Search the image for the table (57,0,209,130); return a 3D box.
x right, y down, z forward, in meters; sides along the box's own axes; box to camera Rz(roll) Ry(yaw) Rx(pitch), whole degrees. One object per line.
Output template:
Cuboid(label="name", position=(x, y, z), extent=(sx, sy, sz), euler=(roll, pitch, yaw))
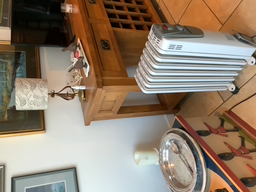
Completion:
Cuboid(label="table", position=(-0.140, -0.660, 2.010), extent=(0.510, 0.830, 1.840), euler=(117, 142, -47))
